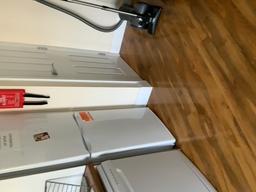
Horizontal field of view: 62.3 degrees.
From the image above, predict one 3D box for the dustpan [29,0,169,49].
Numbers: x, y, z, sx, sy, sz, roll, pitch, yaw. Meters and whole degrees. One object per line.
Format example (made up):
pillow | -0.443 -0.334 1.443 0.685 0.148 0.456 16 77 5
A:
dustpan | -0.320 -0.870 2.250 0.700 1.240 0.460 41 125 51
